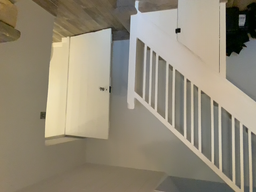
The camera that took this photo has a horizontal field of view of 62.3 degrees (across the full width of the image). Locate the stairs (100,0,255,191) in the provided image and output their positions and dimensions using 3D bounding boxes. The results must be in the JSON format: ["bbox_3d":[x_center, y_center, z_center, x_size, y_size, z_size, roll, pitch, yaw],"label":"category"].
[{"bbox_3d":[1.260,-0.030,2.690,2.930,2.430,1.000,1,175,16],"label":"stairs"}]
